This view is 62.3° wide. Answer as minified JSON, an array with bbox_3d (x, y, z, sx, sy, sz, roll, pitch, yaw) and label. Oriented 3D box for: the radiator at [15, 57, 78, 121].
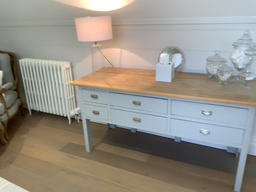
[{"bbox_3d":[-1.080,-0.110,2.830,0.800,0.750,0.160,9,23,23],"label":"radiator"}]
